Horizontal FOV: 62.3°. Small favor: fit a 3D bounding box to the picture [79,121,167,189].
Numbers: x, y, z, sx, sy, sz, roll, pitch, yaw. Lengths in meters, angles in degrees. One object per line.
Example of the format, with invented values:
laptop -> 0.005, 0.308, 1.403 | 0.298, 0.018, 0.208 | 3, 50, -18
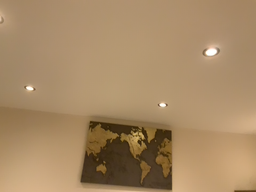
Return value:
picture -> -0.020, 0.600, 2.190 | 0.860, 0.610, 0.040 | 7, -24, -7
